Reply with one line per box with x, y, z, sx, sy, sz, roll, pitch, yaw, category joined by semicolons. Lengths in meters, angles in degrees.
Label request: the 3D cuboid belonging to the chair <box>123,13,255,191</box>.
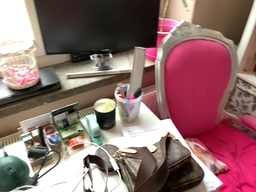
0.440;0.240;1.130;0.600;1.030;0.820;-18;42;-24;chair
